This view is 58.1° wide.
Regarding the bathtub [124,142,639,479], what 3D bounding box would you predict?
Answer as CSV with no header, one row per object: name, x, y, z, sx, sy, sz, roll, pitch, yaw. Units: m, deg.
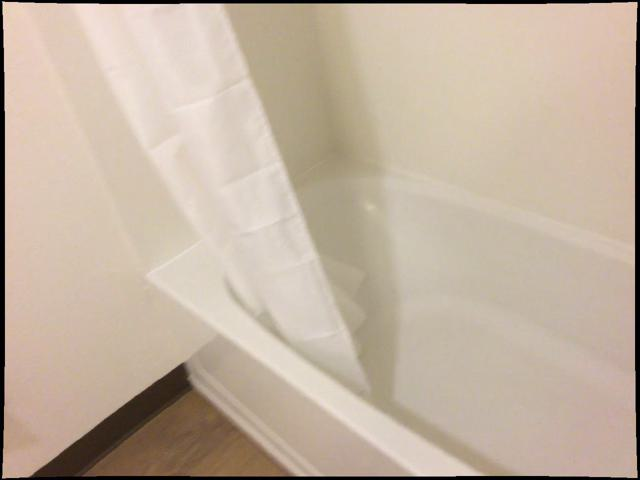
bathtub,0.339,0.341,1.310,1.509,0.471,0.760,27,51,38
